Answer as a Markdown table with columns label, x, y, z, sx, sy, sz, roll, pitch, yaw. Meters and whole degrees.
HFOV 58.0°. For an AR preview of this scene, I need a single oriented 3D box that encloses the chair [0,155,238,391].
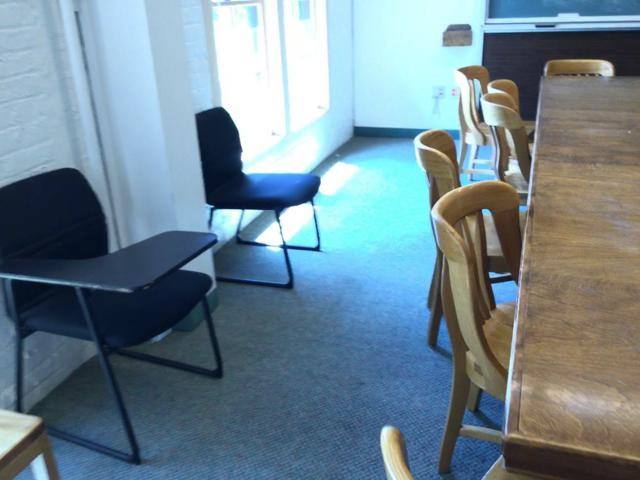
| label | x | y | z | sx | sy | sz | roll | pitch | yaw |
| --- | --- | --- | --- | --- | --- | --- | --- | --- | --- |
| chair | -0.700 | 0.060 | 1.920 | 0.600 | 0.540 | 0.580 | 4 | 23 | 18 |

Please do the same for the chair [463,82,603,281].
| label | x | y | z | sx | sy | sz | roll | pitch | yaw |
| --- | --- | --- | --- | --- | --- | --- | --- | --- | --- |
| chair | 1.050 | -0.320 | 2.930 | 0.550 | 0.850 | 0.570 | 4 | 23 | 18 |

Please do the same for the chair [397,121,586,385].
| label | x | y | z | sx | sy | sz | roll | pitch | yaw |
| --- | --- | --- | --- | --- | --- | --- | --- | --- | --- |
| chair | 0.660 | 0.000 | 2.280 | 0.580 | 0.810 | 0.650 | 4 | 23 | 18 |
